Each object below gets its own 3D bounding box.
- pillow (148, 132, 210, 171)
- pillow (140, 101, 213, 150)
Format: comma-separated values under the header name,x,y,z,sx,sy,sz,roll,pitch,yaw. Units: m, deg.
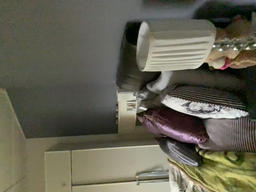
name,x,y,z,sx,sy,sz,roll,pitch,yaw
pillow,0.360,0.400,1.610,0.110,0.300,0.430,62,168,3
pillow,0.300,0.190,1.430,0.370,0.330,0.170,149,99,-79
